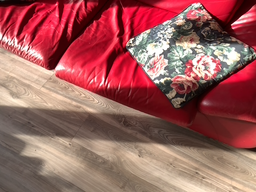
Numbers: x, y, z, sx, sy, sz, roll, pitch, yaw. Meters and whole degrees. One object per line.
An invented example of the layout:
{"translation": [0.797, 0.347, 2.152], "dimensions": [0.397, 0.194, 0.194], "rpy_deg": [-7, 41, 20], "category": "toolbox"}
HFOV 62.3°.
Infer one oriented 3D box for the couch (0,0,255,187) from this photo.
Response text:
{"translation": [-0.130, -0.720, 1.330], "dimensions": [2.440, 0.840, 1.320], "rpy_deg": [24, 61, 12], "category": "couch"}
